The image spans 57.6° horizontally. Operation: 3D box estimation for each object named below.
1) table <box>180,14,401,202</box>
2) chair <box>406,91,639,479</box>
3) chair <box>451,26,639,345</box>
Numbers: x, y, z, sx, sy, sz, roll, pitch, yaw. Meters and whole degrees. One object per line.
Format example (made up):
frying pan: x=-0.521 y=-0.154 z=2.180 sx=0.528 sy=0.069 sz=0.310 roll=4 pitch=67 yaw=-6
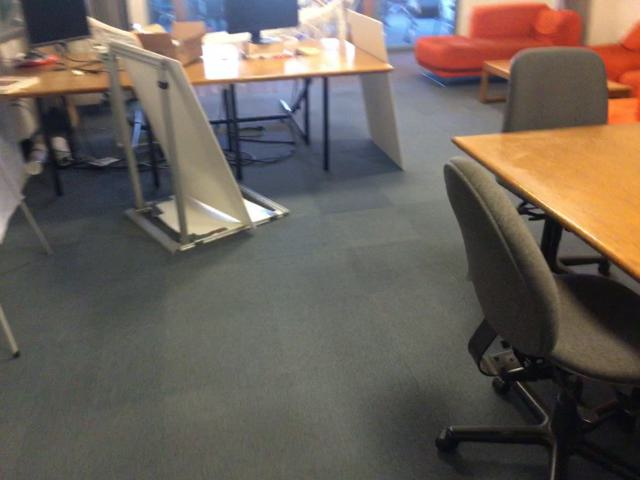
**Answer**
table: x=-0.240 y=-0.970 z=4.000 sx=1.260 sy=0.800 sz=1.170 roll=-10 pitch=31 yaw=-9
chair: x=0.740 y=0.220 z=1.580 sx=0.820 sy=1.010 sz=0.660 roll=-10 pitch=31 yaw=-9
chair: x=0.940 y=-0.230 z=2.370 sx=0.590 sy=1.060 sz=0.680 roll=-5 pitch=31 yaw=-1
